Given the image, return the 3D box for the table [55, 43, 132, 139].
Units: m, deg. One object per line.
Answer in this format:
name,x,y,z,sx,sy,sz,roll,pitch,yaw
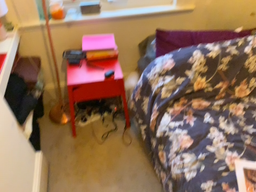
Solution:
table,-0.250,-0.040,1.670,0.480,0.550,0.440,-7,45,-8
